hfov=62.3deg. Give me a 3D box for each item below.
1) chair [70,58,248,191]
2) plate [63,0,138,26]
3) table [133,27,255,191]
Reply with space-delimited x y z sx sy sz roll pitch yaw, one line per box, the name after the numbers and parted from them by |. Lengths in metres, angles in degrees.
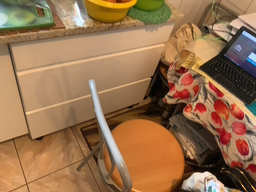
0.030 0.290 1.000 0.470 0.790 0.390 -17 57 -28 | chair
-0.110 -0.430 0.860 0.260 0.200 0.170 -15 56 -27 | plate
0.650 0.280 1.230 0.590 0.740 1.130 -18 58 -29 | table
